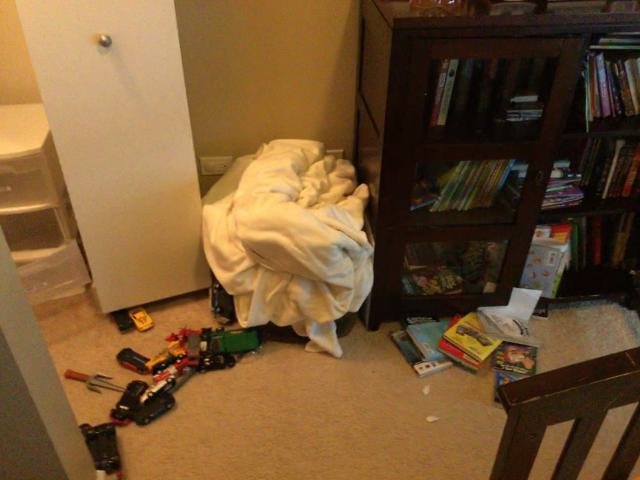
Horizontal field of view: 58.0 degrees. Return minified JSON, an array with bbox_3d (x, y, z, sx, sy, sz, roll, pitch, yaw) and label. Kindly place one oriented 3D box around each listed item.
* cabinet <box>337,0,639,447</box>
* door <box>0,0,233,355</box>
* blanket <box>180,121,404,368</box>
[{"bbox_3d":[0.620,-0.180,1.640,1.020,1.100,0.850,-5,35,-6],"label":"cabinet"},{"bbox_3d":[-0.620,-0.570,1.420,0.600,2.000,0.310,-5,35,-6],"label":"door"},{"bbox_3d":[-0.100,-0.010,1.840,0.570,0.500,0.570,-5,35,-6],"label":"blanket"}]
